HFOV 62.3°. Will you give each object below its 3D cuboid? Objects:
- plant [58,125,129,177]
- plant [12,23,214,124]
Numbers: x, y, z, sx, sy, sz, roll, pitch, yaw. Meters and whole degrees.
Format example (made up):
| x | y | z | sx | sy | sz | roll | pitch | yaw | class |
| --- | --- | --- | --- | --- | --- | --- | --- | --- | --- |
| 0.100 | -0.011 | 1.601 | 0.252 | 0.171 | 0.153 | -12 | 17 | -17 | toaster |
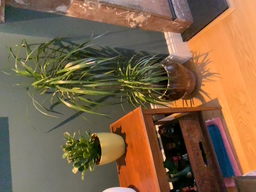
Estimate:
| x | y | z | sx | sy | sz | roll | pitch | yaw | class |
| --- | --- | --- | --- | --- | --- | --- | --- | --- | --- |
| -0.210 | 0.320 | 1.240 | 0.230 | 0.320 | 0.220 | -36 | 61 | 53 | plant |
| -0.060 | -0.090 | 1.430 | 0.470 | 1.240 | 0.350 | -36 | 60 | 52 | plant |
